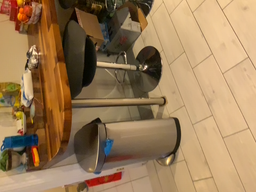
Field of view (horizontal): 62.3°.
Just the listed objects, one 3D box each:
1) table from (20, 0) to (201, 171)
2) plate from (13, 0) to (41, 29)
[{"bbox_3d":[-0.280,-0.450,1.710,0.640,0.910,1.760,-42,57,47],"label":"table"},{"bbox_3d":[-0.660,-0.600,1.370,0.180,0.120,0.240,-43,56,46],"label":"plate"}]
